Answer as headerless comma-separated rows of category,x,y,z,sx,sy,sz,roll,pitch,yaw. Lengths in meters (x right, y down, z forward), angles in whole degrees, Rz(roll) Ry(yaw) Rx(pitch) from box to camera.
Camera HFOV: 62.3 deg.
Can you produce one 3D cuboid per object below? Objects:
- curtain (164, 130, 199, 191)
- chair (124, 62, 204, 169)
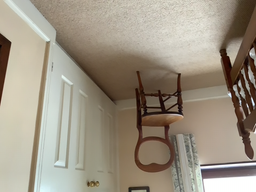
curtain,0.540,1.340,1.710,0.240,2.120,0.130,-8,158,10
chair,0.270,0.200,1.930,0.450,0.830,0.490,3,157,-16
